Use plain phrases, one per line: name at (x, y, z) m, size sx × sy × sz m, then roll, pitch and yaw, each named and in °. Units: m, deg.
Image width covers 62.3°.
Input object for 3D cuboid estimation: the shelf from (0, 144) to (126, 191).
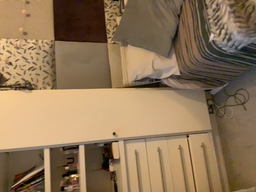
shelf at (-0.770, 0.810, 1.640) m, size 0.460 × 1.450 × 0.720 m, roll 141°, pitch 125°, yaw -67°
